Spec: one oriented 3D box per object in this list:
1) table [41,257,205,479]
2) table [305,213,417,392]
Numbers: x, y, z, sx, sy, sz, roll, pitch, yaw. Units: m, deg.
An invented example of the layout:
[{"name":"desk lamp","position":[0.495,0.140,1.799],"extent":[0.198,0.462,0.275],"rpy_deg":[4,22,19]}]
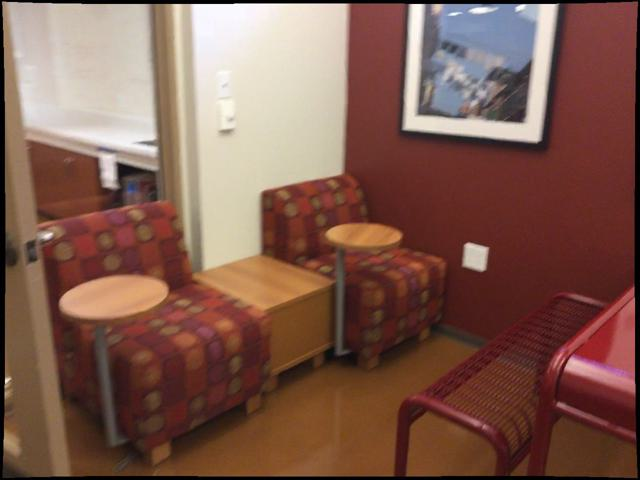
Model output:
[{"name":"table","position":[-0.659,0.470,1.980],"extent":[0.340,0.701,0.350],"rpy_deg":[-17,24,-42]},{"name":"table","position":[0.180,0.260,2.590],"extent":[0.360,0.661,0.320],"rpy_deg":[16,24,42]}]
